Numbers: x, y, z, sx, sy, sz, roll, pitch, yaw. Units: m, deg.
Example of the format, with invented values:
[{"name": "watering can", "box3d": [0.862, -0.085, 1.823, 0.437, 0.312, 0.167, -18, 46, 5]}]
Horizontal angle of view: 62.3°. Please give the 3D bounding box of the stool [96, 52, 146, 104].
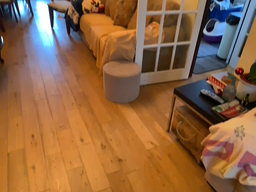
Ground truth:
[{"name": "stool", "box3d": [-0.090, -0.210, 2.310, 0.400, 0.370, 0.390, -12, 38, -21]}]
